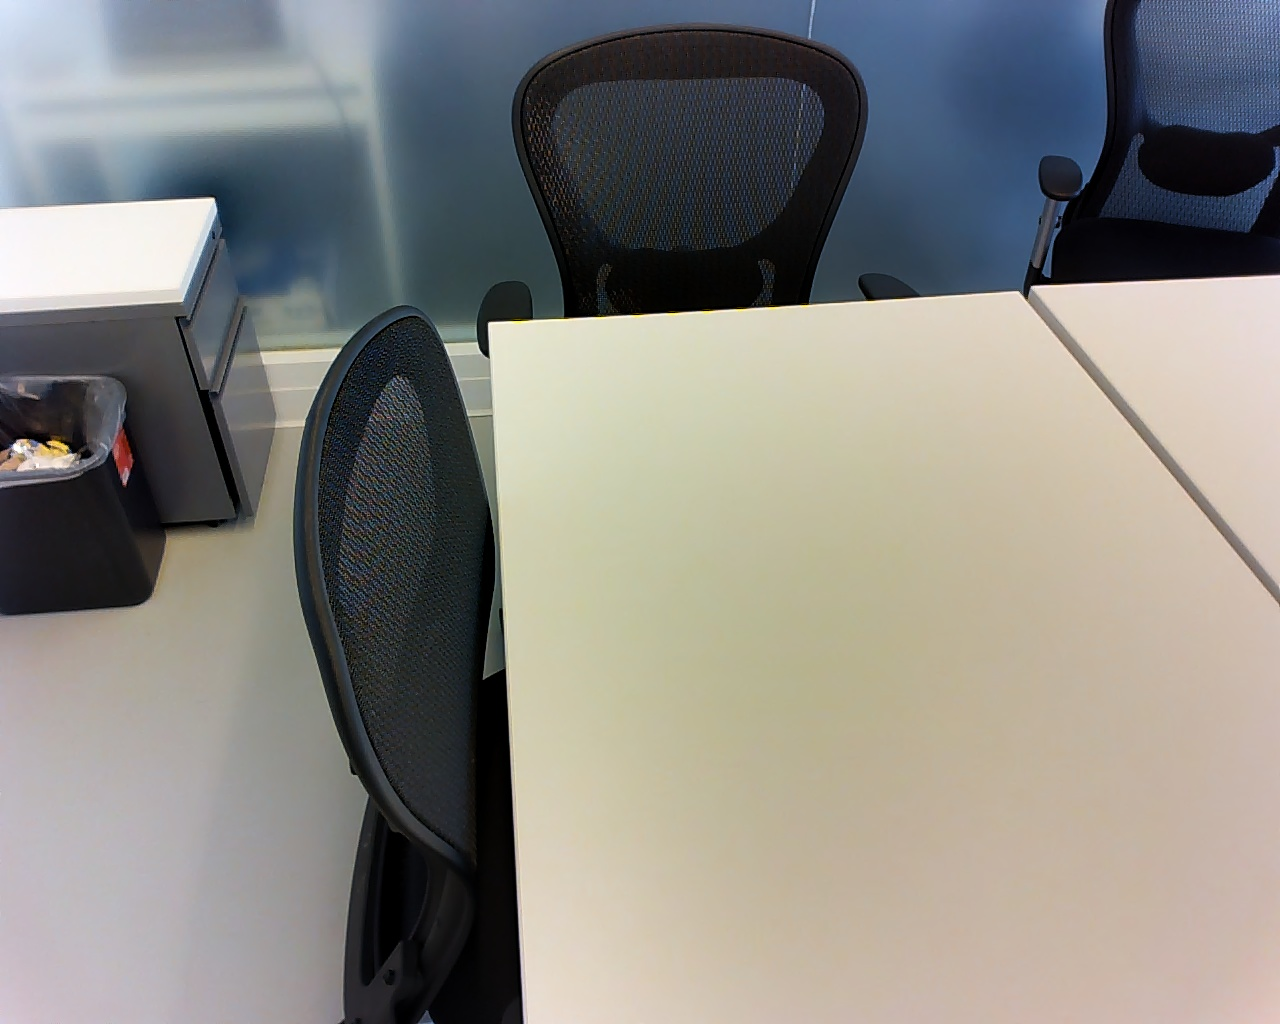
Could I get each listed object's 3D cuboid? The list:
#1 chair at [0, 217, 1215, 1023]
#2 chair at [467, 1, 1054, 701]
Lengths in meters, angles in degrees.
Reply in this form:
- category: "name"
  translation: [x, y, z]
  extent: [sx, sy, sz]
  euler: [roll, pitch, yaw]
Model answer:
- category: "chair"
  translation: [-0.070, 0.330, 1.110]
  extent: [0.650, 1.010, 0.670]
  euler: [-5, 40, -7]
- category: "chair"
  translation: [0.120, -0.230, 1.800]
  extent: [0.720, 1.040, 0.460]
  euler: [-4, 40, -6]
